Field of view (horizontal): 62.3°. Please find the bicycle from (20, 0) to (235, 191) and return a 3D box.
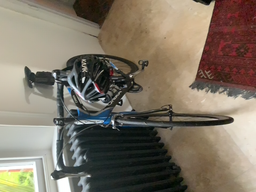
[{"bbox_3d":[-0.130,-0.100,1.630,0.760,1.030,1.260,-54,46,30],"label":"bicycle"}]
